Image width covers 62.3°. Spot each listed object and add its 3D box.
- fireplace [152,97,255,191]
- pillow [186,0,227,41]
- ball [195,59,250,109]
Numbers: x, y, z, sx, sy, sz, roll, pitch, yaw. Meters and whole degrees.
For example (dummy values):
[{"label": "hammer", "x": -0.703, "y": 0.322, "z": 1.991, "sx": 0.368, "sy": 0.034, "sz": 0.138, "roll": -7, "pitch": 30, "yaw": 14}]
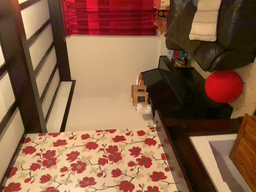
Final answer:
[{"label": "fireplace", "x": 1.010, "y": 0.800, "z": 1.880, "sx": 1.960, "sy": 1.150, "sz": 0.590, "roll": -102, "pitch": 12, "yaw": -58}, {"label": "pillow", "x": 0.900, "y": -0.970, "z": 2.430, "sx": 0.370, "sy": 0.100, "sz": 0.600, "roll": 32, "pitch": 124, "yaw": 47}, {"label": "ball", "x": 1.220, "y": -0.170, "z": 2.830, "sx": 0.470, "sy": 0.400, "sz": 0.510, "roll": -104, "pitch": 13, "yaw": -61}]
